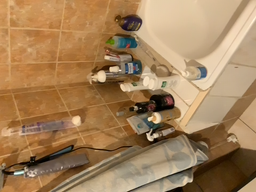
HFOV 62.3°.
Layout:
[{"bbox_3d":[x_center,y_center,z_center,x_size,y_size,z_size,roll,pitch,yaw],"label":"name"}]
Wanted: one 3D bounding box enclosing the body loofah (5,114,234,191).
[{"bbox_3d":[0.030,0.350,0.930,0.290,0.950,0.260,54,136,33],"label":"body loofah"}]
